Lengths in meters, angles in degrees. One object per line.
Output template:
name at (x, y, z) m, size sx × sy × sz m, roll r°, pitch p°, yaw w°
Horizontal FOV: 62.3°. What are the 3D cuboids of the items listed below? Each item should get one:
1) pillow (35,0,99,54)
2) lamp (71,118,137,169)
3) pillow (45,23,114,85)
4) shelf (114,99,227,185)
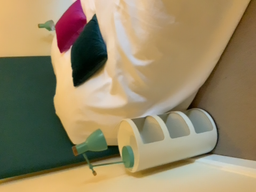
pillow at (-0.550, -0.680, 2.010) m, size 0.170 × 0.410 × 0.440 m, roll -38°, pitch 15°, yaw 33°
lamp at (-0.140, 0.260, 1.200) m, size 0.170 × 0.320 × 0.140 m, roll -120°, pitch 33°, yaw -41°
pillow at (-0.340, -0.340, 1.610) m, size 0.100 × 0.400 × 0.430 m, roll -23°, pitch 6°, yaw 34°
shelf at (0.260, 0.280, 1.410) m, size 0.320 × 0.590 × 0.330 m, roll -120°, pitch 33°, yaw -41°
